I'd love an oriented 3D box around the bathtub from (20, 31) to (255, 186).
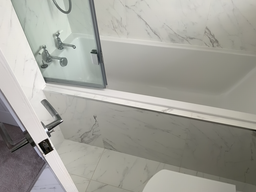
[{"bbox_3d":[0.180,0.010,1.650,1.610,0.580,0.730,10,46,14],"label":"bathtub"}]
